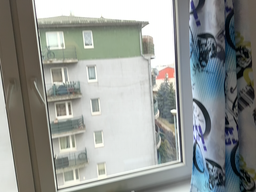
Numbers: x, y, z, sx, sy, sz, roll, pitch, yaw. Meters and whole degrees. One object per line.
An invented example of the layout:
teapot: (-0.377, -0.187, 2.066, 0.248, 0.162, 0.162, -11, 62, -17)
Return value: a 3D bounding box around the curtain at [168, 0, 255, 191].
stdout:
curtain: (0.450, -0.100, 1.170, 0.270, 1.580, 0.330, -7, 8, -21)
